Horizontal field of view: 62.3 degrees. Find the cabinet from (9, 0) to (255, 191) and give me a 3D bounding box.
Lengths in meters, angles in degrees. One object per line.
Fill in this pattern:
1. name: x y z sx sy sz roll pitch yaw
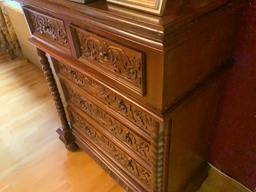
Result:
1. cabinet: -0.040 0.020 1.170 0.500 1.140 0.970 -32 46 -31
